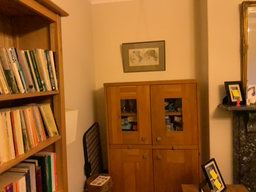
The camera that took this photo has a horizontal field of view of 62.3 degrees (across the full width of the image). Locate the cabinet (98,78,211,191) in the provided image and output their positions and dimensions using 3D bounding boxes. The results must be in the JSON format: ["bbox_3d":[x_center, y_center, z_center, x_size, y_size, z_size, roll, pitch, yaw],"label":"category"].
[{"bbox_3d":[0.340,0.590,2.710,1.260,1.580,0.530,-1,4,9],"label":"cabinet"}]
